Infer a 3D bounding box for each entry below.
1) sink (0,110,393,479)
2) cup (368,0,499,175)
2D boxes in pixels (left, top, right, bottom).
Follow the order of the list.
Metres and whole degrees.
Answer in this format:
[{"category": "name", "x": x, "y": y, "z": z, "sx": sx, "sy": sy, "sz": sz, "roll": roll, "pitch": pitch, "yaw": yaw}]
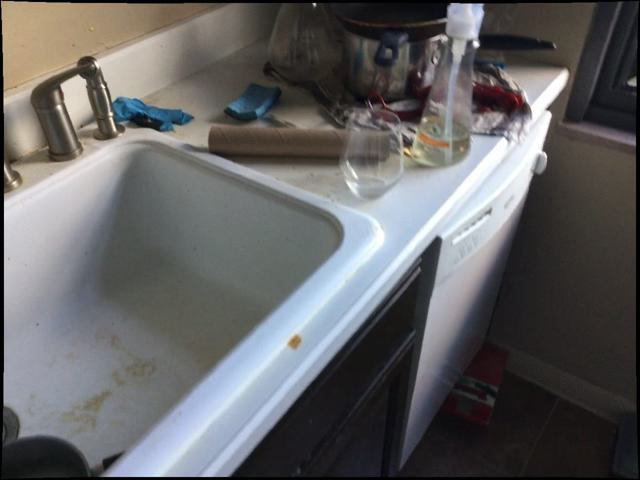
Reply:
[{"category": "sink", "x": -0.309, "y": 0.130, "z": 0.800, "sx": 0.559, "sy": 0.230, "sz": 0.650, "roll": 23, "pitch": 48, "yaw": 28}, {"category": "cup", "x": 0.160, "y": -0.251, "z": 0.840, "sx": 0.140, "sy": 0.260, "sz": 0.110, "roll": 23, "pitch": 48, "yaw": 28}]
